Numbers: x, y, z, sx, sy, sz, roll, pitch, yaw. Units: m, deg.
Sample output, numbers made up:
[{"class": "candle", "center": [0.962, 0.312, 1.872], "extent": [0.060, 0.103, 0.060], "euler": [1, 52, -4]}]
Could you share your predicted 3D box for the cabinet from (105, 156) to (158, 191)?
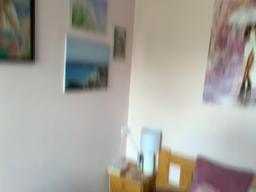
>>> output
[{"class": "cabinet", "center": [0.030, 1.030, 2.280], "extent": [0.410, 0.560, 0.380], "euler": [9, 11, 32]}]
